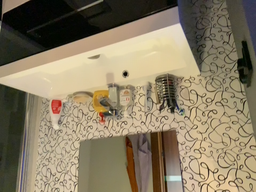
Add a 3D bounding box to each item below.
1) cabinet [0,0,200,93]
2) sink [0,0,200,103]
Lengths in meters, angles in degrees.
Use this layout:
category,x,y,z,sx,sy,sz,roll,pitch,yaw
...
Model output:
category,x,y,z,sx,sy,sz,roll,pitch,yaw
cabinet,-0.170,-0.570,1.060,0.850,0.910,0.410,-10,161,24
sink,-0.160,-0.130,0.930,0.850,0.110,0.410,-10,161,24
